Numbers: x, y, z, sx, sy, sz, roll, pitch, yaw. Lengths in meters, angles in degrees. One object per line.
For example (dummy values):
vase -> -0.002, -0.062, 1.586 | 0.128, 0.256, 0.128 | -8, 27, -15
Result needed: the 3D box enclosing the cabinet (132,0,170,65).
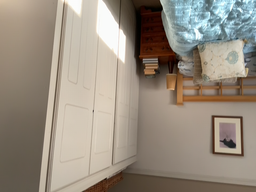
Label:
cabinet -> 0.310, -0.790, 2.710 | 0.410, 0.670, 0.420 | 1, 171, 14
